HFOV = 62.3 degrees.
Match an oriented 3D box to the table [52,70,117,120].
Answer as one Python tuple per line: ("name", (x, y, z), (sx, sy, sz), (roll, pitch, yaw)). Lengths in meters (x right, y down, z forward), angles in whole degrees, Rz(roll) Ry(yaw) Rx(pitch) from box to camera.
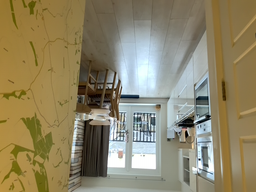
("table", (-0.820, 0.050, 4.610), (1.000, 0.750, 1.470), (2, 167, 3))
